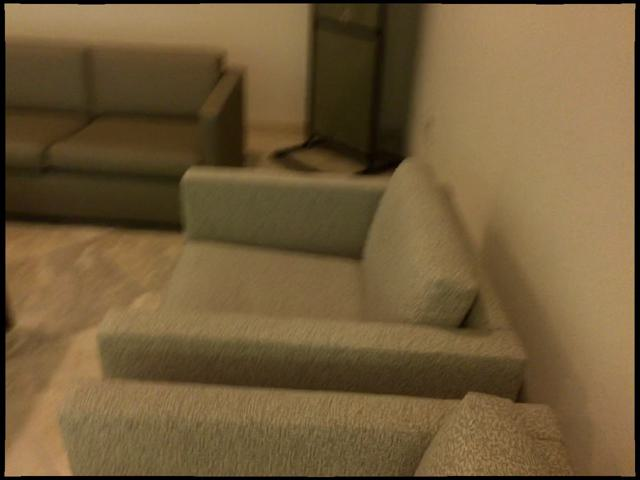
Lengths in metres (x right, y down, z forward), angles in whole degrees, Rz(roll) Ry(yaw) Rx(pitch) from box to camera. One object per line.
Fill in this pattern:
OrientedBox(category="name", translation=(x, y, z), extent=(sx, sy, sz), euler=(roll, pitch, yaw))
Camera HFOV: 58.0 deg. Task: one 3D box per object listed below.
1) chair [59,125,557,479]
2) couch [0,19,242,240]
OrientedBox(category="chair", translation=(-0.040, 0.200, 1.630), extent=(0.898, 0.711, 0.951), euler=(2, 31, -2))
OrientedBox(category="couch", translation=(-1.577, -0.601, 2.830), extent=(2.265, 0.721, 0.981), euler=(2, 31, -2))
